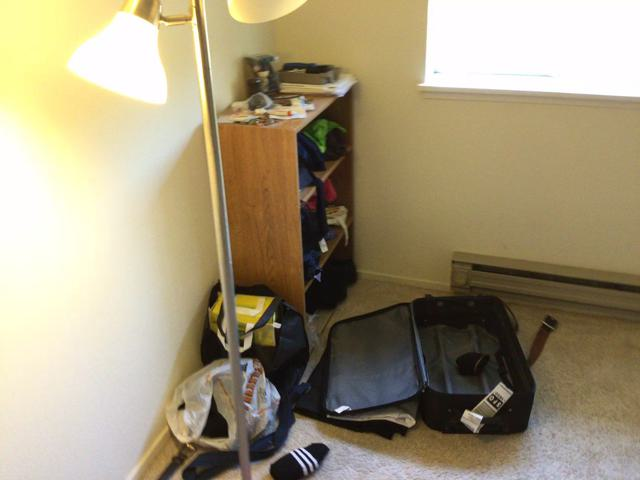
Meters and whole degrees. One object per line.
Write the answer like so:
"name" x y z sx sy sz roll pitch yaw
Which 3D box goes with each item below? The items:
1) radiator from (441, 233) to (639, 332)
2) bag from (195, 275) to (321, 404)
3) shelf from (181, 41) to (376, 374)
"radiator" 1.270 0.200 2.070 1.650 0.270 0.120 6 29 22
"bag" -0.200 0.330 1.970 0.320 0.310 0.230 6 29 22
"shelf" -0.080 -0.150 2.160 0.340 1.020 0.690 6 29 22
